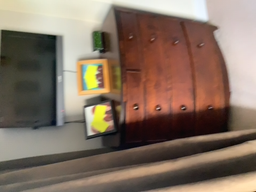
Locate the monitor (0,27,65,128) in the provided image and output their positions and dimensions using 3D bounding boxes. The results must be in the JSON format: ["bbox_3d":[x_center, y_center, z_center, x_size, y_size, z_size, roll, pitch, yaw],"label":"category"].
[{"bbox_3d":[-0.790,-0.150,1.780,0.040,0.490,0.820,157,113,-66],"label":"monitor"}]

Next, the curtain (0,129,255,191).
[{"bbox_3d":[0.120,0.260,0.860,0.410,2.320,0.190,151,117,-64],"label":"curtain"}]
